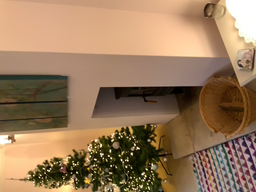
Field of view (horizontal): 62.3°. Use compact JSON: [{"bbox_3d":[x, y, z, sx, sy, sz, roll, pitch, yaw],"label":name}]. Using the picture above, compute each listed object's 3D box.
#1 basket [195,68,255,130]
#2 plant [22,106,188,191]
[{"bbox_3d":[0.700,0.030,1.480,0.340,0.240,0.320,125,140,-62],"label":"basket"},{"bbox_3d":[-0.320,0.790,2.650,0.890,1.650,1.010,123,142,-62],"label":"plant"}]
